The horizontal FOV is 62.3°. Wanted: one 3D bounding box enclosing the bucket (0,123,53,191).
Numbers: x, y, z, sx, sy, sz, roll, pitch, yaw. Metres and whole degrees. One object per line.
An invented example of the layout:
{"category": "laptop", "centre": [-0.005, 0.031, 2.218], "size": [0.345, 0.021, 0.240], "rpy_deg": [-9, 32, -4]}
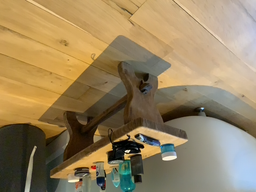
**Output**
{"category": "bucket", "centre": [-0.740, 0.500, 1.400], "size": [0.420, 0.490, 0.440], "rpy_deg": [4, 146, -18]}

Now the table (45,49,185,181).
{"category": "table", "centre": [-0.130, 0.170, 1.150], "size": [0.310, 0.380, 0.740], "rpy_deg": [19, 139, -37]}
